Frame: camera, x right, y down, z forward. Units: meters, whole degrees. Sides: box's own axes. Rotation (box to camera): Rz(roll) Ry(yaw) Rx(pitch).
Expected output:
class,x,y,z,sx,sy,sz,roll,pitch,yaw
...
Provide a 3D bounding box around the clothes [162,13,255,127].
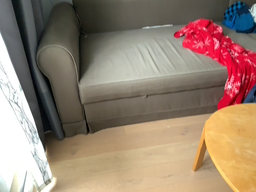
class,x,y,z,sx,sy,sz,roll,pitch,yaw
clothes,0.640,-0.260,1.690,0.400,0.500,0.820,-10,39,-12
